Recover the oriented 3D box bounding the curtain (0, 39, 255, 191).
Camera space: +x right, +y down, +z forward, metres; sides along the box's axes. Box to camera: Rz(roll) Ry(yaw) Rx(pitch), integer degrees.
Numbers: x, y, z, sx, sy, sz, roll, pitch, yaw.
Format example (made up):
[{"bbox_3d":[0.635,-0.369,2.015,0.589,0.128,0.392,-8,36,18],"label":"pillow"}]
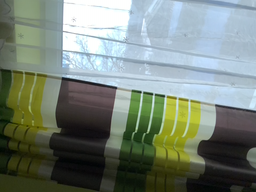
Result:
[{"bbox_3d":[0.380,0.290,1.050,0.130,2.650,0.800,-84,3,-69],"label":"curtain"}]
